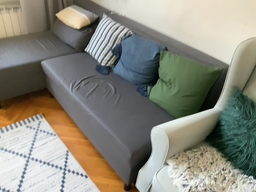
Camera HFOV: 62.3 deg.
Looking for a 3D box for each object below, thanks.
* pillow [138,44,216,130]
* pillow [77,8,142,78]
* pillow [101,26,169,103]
[{"bbox_3d":[0.370,-0.060,1.550,0.250,0.450,0.440,-45,52,-12],"label":"pillow"},{"bbox_3d":[-0.170,-0.520,2.080,0.300,0.470,0.440,-41,52,-13],"label":"pillow"},{"bbox_3d":[0.070,-0.270,1.840,0.290,0.440,0.420,-38,51,-8],"label":"pillow"}]
